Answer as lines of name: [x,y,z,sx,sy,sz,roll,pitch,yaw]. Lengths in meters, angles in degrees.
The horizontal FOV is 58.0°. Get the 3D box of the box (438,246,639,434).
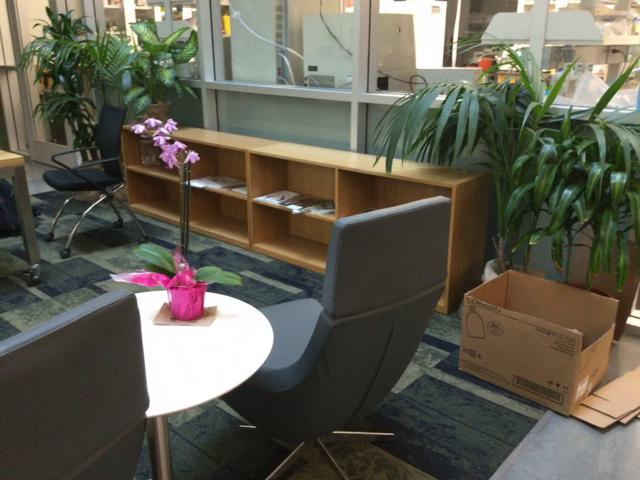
box: [0.920,0.370,2.410,0.580,0.430,0.550,21,24,35]

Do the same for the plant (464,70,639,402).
plant: [1.140,-0.060,2.470,0.680,1.200,0.470,21,24,35]
